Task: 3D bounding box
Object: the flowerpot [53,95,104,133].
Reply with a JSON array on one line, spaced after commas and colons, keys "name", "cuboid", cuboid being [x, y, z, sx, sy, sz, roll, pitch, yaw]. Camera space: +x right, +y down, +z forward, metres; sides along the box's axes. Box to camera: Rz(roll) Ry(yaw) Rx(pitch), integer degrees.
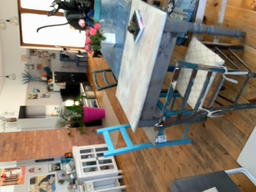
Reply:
[{"name": "flowerpot", "cuboid": [-1.320, 0.460, 5.590, 0.540, 1.200, 0.780, -121, 36, -52]}]
